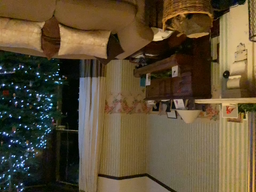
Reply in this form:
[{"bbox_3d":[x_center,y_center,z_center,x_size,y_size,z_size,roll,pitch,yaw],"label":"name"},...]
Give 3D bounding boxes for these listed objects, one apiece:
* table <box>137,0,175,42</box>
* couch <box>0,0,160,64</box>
[{"bbox_3d":[0.330,-0.950,2.550,0.330,0.490,0.310,2,178,-25],"label":"table"},{"bbox_3d":[-0.790,-0.870,2.200,2.010,0.720,0.990,2,178,-26],"label":"couch"}]
